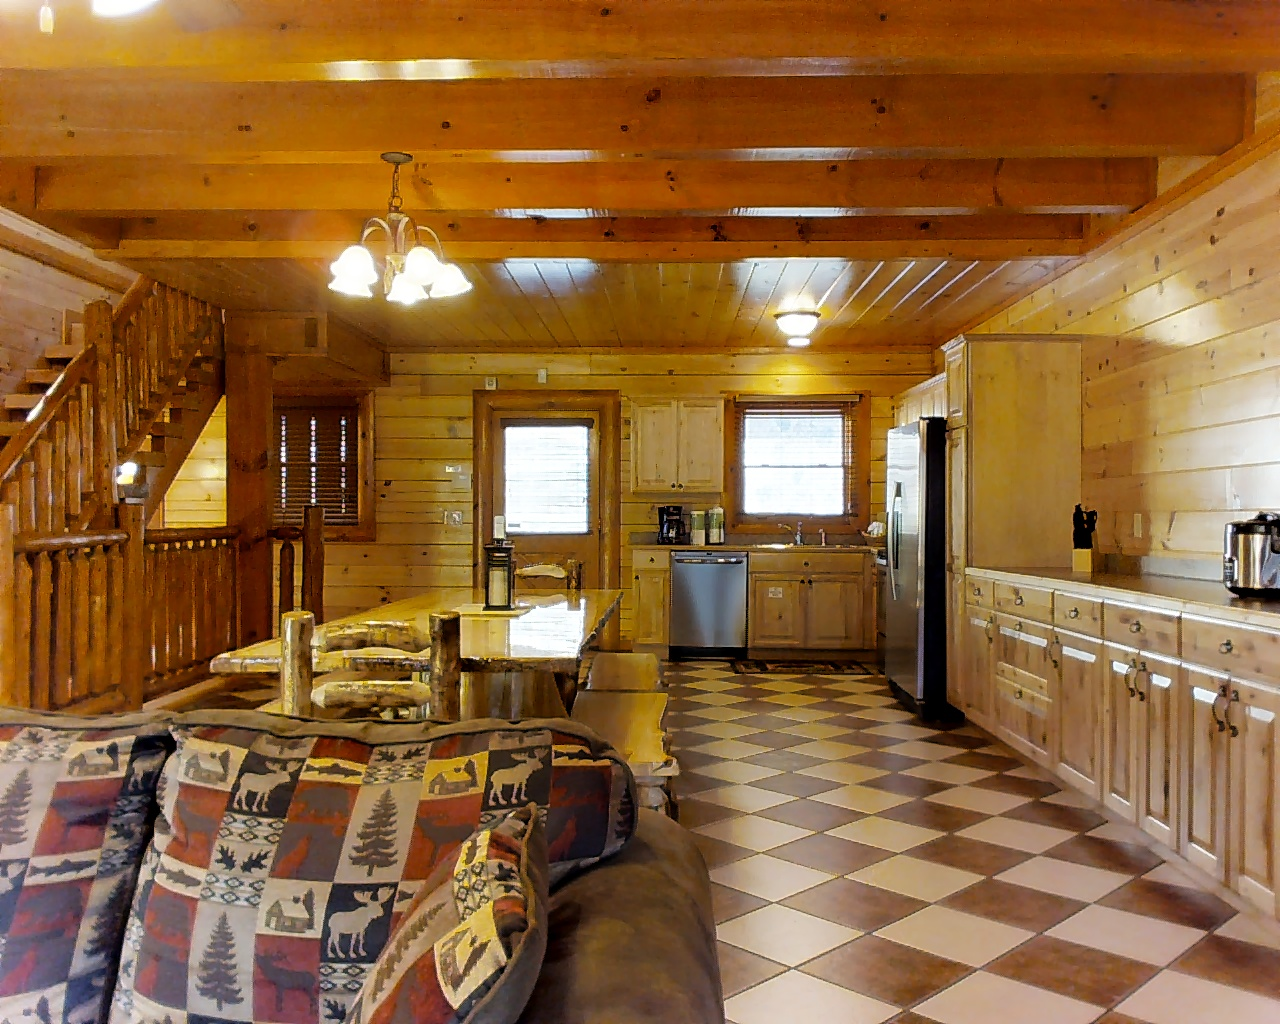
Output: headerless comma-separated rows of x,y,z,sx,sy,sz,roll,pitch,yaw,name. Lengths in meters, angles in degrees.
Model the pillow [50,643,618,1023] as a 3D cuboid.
-0.380,0.520,1.590,0.680,0.550,0.320,1,-35,0,pillow
